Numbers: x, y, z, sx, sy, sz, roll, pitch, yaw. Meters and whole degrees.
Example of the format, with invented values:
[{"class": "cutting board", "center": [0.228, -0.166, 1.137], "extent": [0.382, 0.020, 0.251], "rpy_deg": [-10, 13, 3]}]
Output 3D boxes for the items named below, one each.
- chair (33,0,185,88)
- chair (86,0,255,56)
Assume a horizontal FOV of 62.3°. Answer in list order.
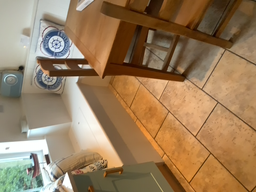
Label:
[{"class": "chair", "center": [-0.130, -0.430, 1.720], "extent": [0.490, 1.040, 0.560], "rpy_deg": [25, 107, 51]}, {"class": "chair", "center": [0.270, -0.640, 1.200], "extent": [0.530, 1.040, 0.450], "rpy_deg": [53, 128, 41]}]
